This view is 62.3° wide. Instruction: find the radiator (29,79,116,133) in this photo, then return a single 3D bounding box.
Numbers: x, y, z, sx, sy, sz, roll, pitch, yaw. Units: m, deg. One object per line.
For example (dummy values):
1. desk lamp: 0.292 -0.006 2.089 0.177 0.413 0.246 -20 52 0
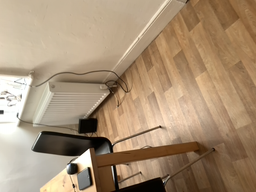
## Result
1. radiator: -0.690 0.160 2.460 1.050 0.690 0.120 -44 54 46
